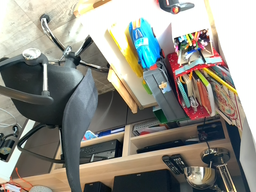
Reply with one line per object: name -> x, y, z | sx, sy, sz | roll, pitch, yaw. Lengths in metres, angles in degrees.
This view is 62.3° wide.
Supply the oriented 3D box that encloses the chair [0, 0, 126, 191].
chair -> -0.380, 0.010, 1.170 | 0.570, 1.000, 0.590 | 10, 137, -5
